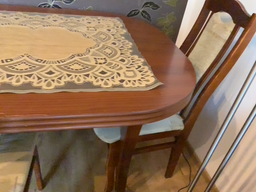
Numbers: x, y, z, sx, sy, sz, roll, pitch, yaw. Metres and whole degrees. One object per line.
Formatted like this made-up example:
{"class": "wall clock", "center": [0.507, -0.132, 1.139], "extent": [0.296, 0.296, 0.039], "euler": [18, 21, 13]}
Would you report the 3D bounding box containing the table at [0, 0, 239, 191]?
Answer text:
{"class": "table", "center": [-0.580, 0.070, 0.990], "extent": [1.560, 0.750, 0.930], "euler": [-2, 37, -17]}
